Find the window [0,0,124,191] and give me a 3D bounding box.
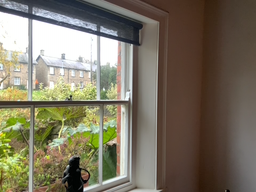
[{"bbox_3d":[-0.520,0.120,1.610,1.240,1.450,0.100,0,1,-45],"label":"window"}]
